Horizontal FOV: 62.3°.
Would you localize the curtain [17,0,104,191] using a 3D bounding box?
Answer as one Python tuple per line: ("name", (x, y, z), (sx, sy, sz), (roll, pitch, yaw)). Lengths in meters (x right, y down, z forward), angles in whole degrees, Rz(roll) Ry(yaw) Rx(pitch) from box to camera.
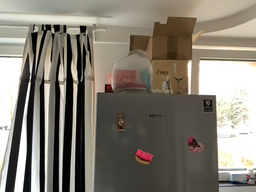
("curtain", (-0.450, 0.170, 1.490), (0.500, 1.670, 0.190), (1, -5, -2))
